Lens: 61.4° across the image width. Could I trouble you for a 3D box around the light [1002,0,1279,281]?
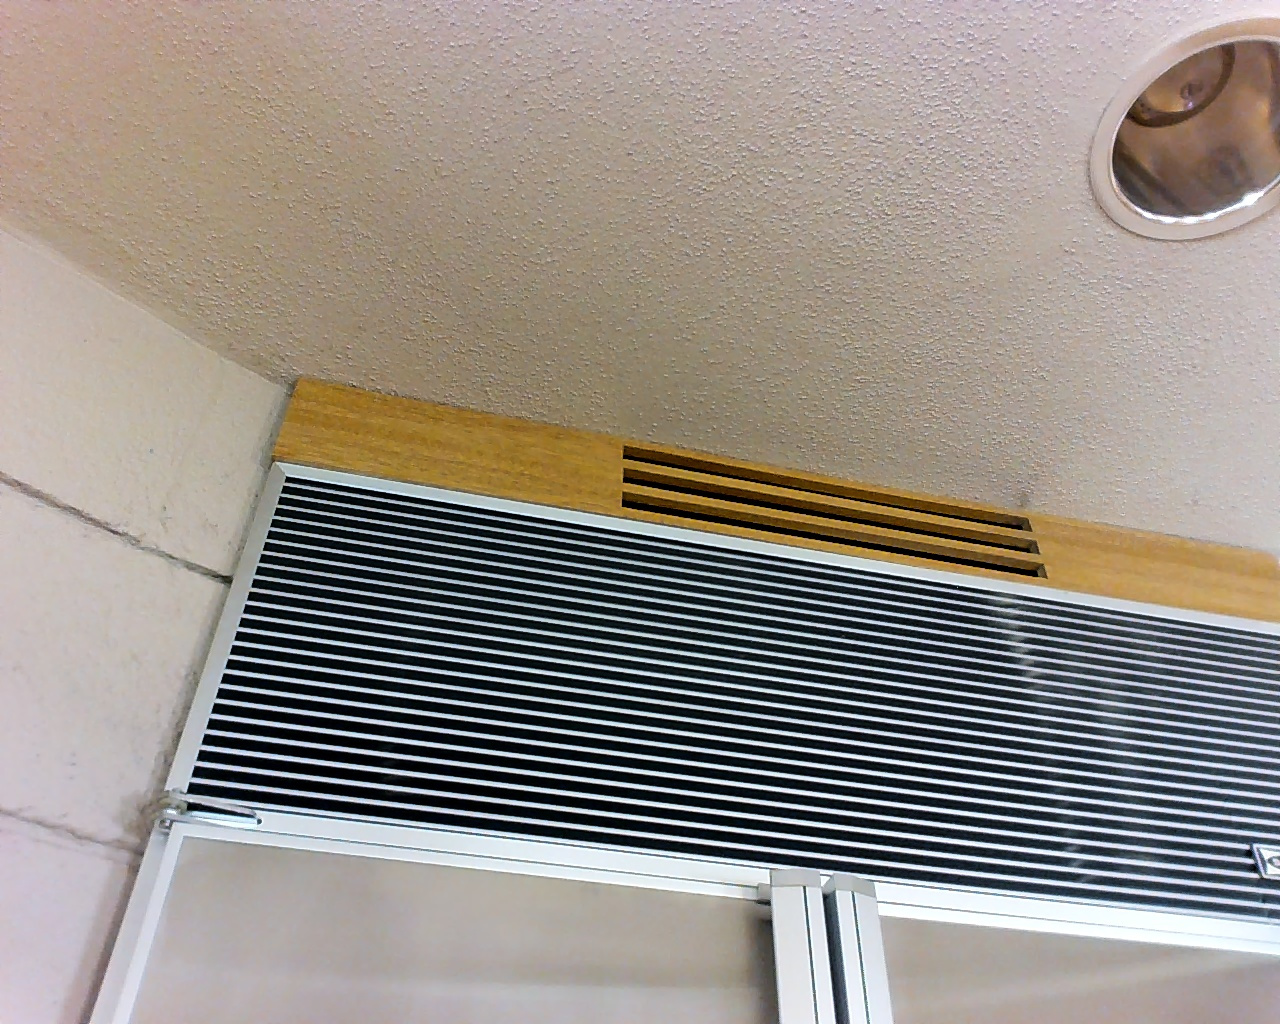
[{"bbox_3d":[0.380,-0.270,0.750,0.150,0.090,0.200,40,8,-35],"label":"light"}]
